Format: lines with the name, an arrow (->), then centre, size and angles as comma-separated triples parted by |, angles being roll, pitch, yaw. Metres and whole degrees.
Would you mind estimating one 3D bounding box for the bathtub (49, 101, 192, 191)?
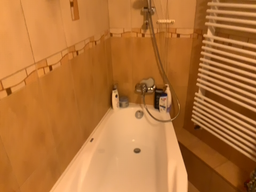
bathtub -> 0.040, 0.670, 1.640 | 0.800, 0.560, 1.480 | 6, 28, 15
